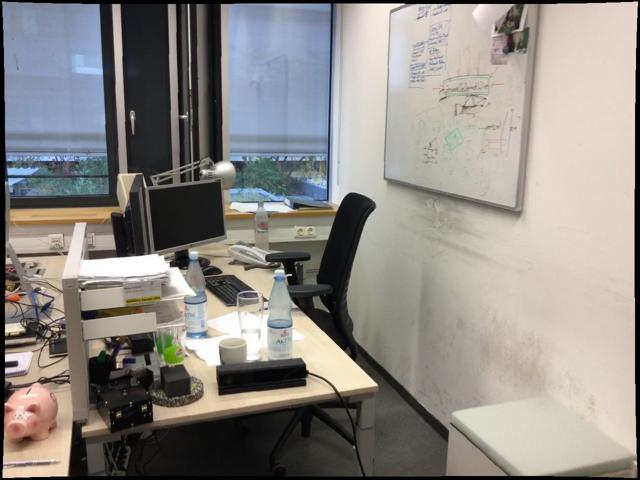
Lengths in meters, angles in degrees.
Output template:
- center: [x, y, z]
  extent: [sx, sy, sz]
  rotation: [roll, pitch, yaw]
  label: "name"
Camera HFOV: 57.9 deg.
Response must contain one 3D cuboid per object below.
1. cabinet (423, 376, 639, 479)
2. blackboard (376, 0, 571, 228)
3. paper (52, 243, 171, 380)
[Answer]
- center: [0.679, 0.841, 1.890]
  extent: [0.450, 0.520, 0.580]
  rotation: [-4, 14, -18]
  label: "cabinet"
- center: [0.579, -0.651, 2.580]
  extent: [0.120, 0.951, 1.290]
  rotation: [-4, 14, -18]
  label: "blackboard"
- center: [-0.549, 0.170, 1.550]
  extent: [0.250, 0.230, 0.370]
  rotation: [-4, 14, -18]
  label: "paper"
